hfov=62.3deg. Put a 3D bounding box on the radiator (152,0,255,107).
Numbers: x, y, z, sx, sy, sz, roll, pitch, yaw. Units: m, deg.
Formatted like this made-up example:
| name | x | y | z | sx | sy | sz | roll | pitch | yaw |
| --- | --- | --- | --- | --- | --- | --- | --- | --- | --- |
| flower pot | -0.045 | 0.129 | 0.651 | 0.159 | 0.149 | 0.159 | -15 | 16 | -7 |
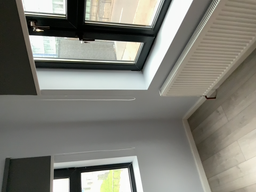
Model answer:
| name | x | y | z | sx | sy | sz | roll | pitch | yaw |
| --- | --- | --- | --- | --- | --- | --- | --- | --- | --- |
| radiator | 0.720 | -0.360 | 1.590 | 1.540 | 0.610 | 0.100 | 112 | 153 | -53 |
